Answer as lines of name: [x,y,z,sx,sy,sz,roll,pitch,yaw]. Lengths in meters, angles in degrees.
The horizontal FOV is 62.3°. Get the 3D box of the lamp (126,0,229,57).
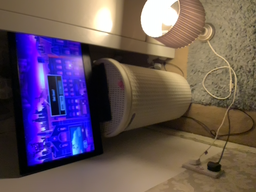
lamp: [0.270,-0.390,1.110,0.320,0.470,0.310,6,96,44]

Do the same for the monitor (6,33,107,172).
monitor: [-0.290,0.010,0.930,0.040,0.380,0.520,-15,81,44]
